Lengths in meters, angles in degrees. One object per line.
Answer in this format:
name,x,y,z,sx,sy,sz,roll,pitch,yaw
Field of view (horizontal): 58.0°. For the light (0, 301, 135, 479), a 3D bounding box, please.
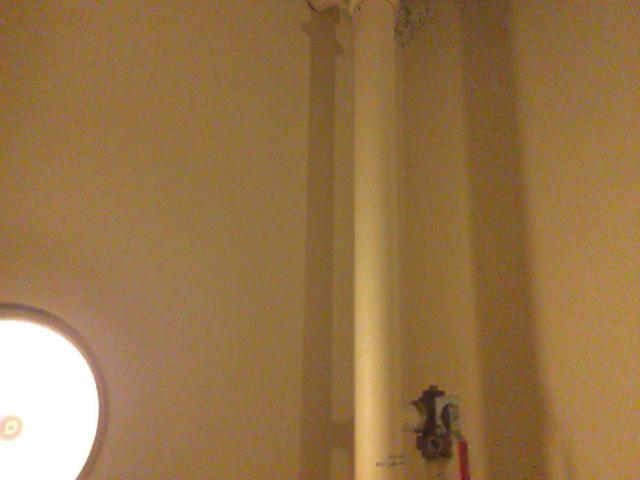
light,-0.510,0.340,0.940,0.120,0.450,0.370,-21,-27,37
